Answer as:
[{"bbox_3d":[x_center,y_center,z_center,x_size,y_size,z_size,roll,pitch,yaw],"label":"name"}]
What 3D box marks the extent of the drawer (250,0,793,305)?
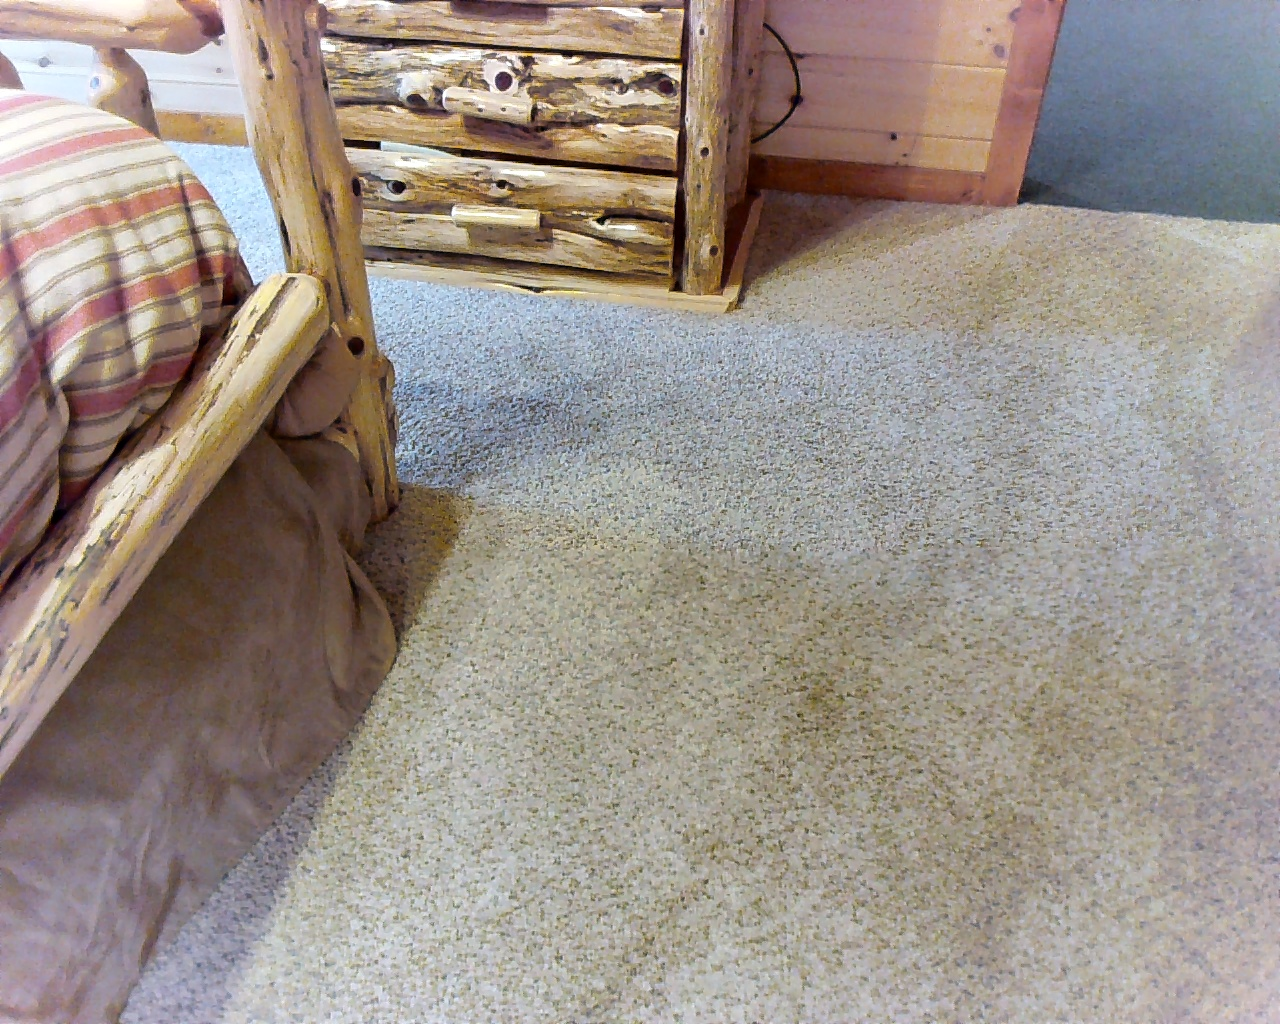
[{"bbox_3d":[-0.190,-1.170,2.160,0.990,1.240,0.670,6,42,7],"label":"drawer"}]
